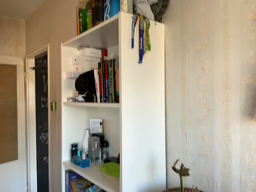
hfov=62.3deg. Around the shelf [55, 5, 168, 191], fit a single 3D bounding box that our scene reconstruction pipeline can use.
[{"bbox_3d":[-0.130,0.570,1.120,0.240,1.810,0.680,-1,1,-39],"label":"shelf"}]
